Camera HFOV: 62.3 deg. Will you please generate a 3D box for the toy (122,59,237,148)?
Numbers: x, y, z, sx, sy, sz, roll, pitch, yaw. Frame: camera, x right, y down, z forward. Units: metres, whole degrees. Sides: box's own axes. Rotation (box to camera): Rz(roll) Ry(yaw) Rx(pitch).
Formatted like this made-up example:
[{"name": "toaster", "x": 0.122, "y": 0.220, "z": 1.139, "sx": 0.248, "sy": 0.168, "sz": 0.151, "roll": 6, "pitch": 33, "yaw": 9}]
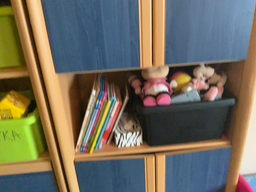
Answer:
[{"name": "toy", "x": 0.190, "y": 0.010, "z": 0.950, "sx": 0.390, "sy": 0.250, "sz": 0.320, "roll": -6, "pitch": 24, "yaw": -5}]
